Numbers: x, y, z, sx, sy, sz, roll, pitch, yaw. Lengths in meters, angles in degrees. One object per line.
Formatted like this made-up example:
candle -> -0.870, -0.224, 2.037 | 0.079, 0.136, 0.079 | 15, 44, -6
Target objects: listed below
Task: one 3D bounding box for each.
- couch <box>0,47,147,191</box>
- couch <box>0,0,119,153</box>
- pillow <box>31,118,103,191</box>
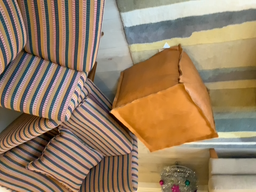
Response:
couch -> -0.450, 0.340, 1.600 | 0.810, 0.800, 0.860 | -19, 128, 28
couch -> -0.470, -0.410, 0.860 | 0.780, 0.780, 0.860 | 15, 136, -3
pillow -> -0.420, 0.440, 1.500 | 0.200, 0.330, 0.450 | -37, 122, 3
